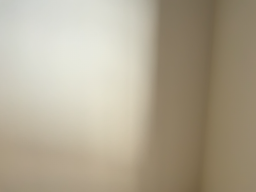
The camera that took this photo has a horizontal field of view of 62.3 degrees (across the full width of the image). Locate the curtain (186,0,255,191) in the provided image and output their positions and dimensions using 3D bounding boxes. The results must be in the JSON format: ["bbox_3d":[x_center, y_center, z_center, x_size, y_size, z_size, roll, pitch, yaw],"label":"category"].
[{"bbox_3d":[0.470,0.060,1.030,0.120,1.480,0.590,0,-169,-3],"label":"curtain"}]
